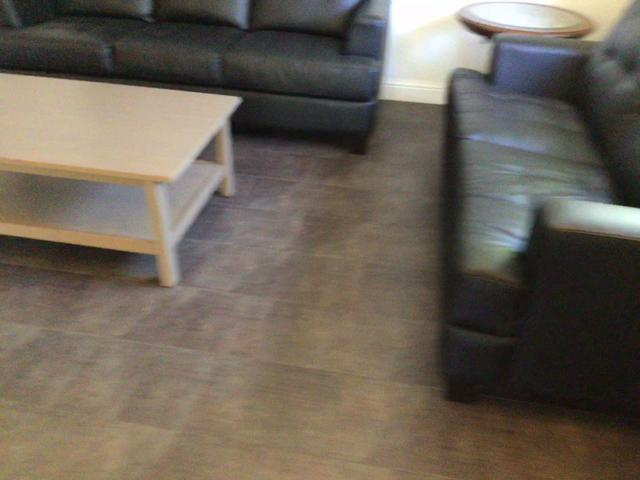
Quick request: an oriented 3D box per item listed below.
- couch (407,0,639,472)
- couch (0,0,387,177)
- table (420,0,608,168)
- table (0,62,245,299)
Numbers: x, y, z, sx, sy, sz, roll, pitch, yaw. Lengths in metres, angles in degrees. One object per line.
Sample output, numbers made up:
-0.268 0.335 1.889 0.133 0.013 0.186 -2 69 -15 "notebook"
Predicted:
0.850 -0.290 2.030 0.900 0.990 1.770 9 34 2 "couch"
-0.760 -1.160 3.210 2.170 0.970 0.970 9 34 2 "couch"
0.970 -0.930 3.140 0.690 0.720 0.760 9 34 2 "table"
-0.990 -0.290 2.320 1.210 0.490 0.770 9 34 3 "table"
